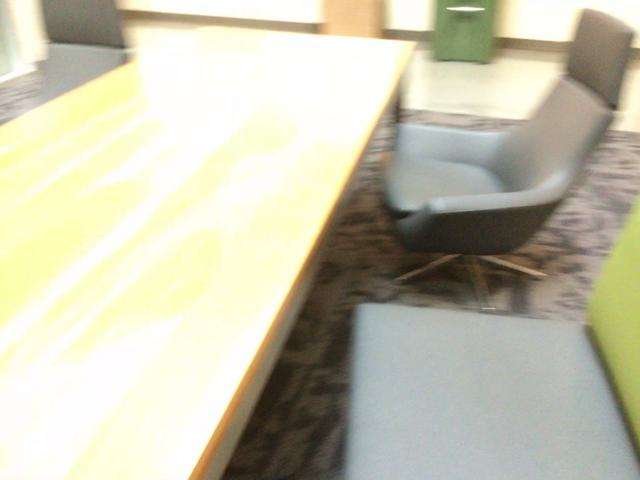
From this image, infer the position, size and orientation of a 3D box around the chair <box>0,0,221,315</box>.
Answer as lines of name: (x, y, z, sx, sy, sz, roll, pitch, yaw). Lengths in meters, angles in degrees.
chair: (-0.980, -0.420, 2.200, 0.790, 0.950, 0.780, 16, 33, 28)

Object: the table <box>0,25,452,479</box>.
table: (-0.320, -0.020, 1.800, 1.090, 0.860, 2.360, 8, 30, 16)

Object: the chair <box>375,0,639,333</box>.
chair: (0.590, -0.290, 2.030, 0.750, 0.950, 0.710, 2, 29, 4)
